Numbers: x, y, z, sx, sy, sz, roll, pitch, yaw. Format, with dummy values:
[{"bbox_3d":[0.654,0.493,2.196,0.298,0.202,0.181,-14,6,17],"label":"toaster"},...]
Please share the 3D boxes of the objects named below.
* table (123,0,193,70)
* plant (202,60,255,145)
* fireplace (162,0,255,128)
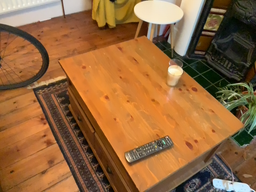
[{"bbox_3d":[0.270,-0.640,2.130,0.450,0.480,0.420,-24,56,-24],"label":"table"},{"bbox_3d":[0.880,0.050,1.620,0.290,0.440,0.390,-24,56,-24],"label":"plant"},{"bbox_3d":[0.920,-0.530,1.720,0.360,1.040,1.250,-24,56,-24],"label":"fireplace"}]
